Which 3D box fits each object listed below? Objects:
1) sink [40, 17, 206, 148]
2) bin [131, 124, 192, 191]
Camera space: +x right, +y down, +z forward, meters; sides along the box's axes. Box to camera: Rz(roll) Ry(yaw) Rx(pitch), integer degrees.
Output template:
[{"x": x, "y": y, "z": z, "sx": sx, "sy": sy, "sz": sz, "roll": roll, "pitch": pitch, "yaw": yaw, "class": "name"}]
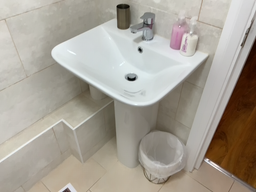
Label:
[{"x": -0.030, "y": -0.120, "z": 0.980, "sx": 0.570, "sy": 0.210, "sz": 0.430, "roll": 32, "pitch": 51, "yaw": 29, "class": "sink"}, {"x": 0.200, "y": 0.390, "z": 1.330, "sx": 0.250, "sy": 0.230, "sz": 0.260, "roll": 33, "pitch": 51, "yaw": 30, "class": "bin"}]
